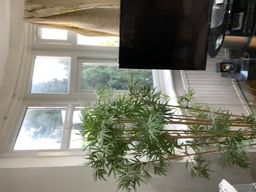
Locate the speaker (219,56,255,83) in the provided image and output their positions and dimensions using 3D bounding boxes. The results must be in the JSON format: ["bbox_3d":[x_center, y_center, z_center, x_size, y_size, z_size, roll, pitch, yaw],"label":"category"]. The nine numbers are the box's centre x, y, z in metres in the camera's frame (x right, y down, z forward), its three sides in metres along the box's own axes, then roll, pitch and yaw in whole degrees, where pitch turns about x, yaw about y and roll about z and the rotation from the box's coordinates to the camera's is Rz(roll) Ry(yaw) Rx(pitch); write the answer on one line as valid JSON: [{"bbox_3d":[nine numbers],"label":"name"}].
[{"bbox_3d":[1.080,-0.230,1.830,0.310,0.430,0.190,-125,36,-74],"label":"speaker"}]

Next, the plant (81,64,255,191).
[{"bbox_3d":[0.530,0.210,1.540,0.530,1.650,0.650,100,167,-46],"label":"plant"}]
